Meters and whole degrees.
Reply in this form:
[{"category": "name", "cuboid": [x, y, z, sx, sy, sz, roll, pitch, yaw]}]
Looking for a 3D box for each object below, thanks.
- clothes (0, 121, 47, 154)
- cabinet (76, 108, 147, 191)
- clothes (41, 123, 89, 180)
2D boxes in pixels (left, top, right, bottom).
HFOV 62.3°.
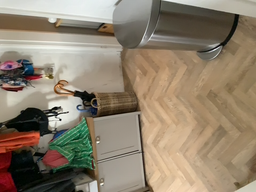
[{"category": "clothes", "cuboid": [-1.220, 0.390, 1.790, 0.220, 0.970, 0.200, 1, 96, 58]}, {"category": "cabinet", "cuboid": [-0.180, 0.610, 2.370, 0.370, 0.620, 0.870, -3, 92, 59]}, {"category": "clothes", "cuboid": [-0.640, 0.540, 2.170, 0.290, 0.390, 0.420, 14, 106, 57]}]
